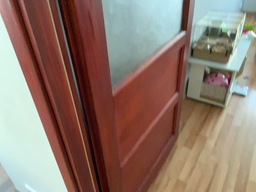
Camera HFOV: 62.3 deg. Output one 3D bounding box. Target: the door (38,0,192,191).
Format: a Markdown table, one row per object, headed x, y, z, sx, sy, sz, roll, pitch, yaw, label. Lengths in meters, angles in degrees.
| x | y | z | sx | sy | sz | roll | pitch | yaw | label |
| --- | --- | --- | --- | --- | --- | --- | --- | --- | --- |
| 0.050 | -0.260 | 0.840 | 0.110 | 2.140 | 0.760 | 20 | 42 | 29 | door |
